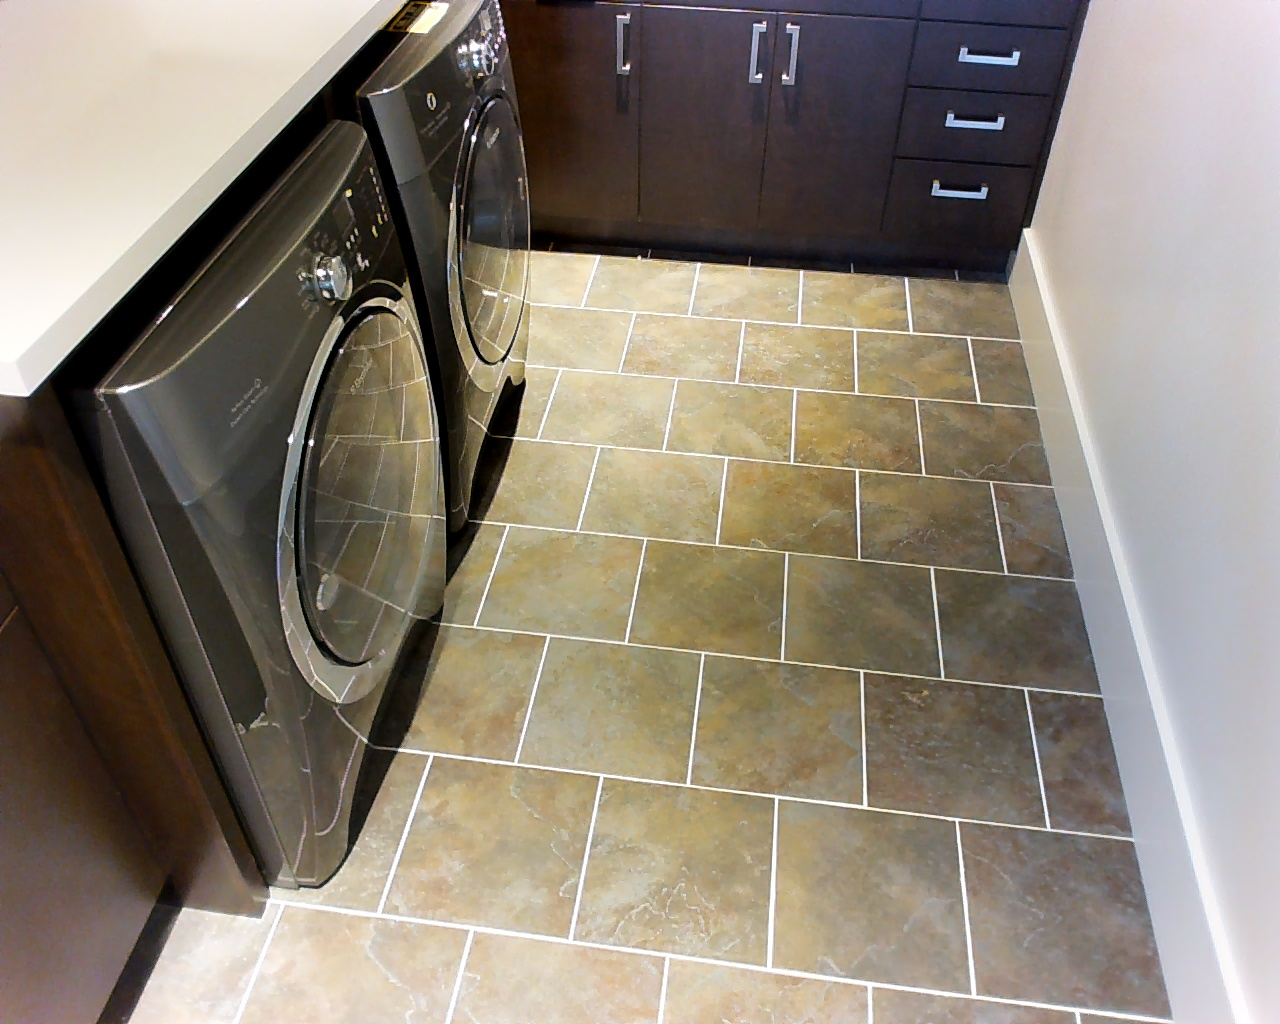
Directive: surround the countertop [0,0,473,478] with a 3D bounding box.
[{"bbox_3d":[-0.780,-0.690,1.610,0.790,0.130,1.730,6,42,6],"label":"countertop"}]
